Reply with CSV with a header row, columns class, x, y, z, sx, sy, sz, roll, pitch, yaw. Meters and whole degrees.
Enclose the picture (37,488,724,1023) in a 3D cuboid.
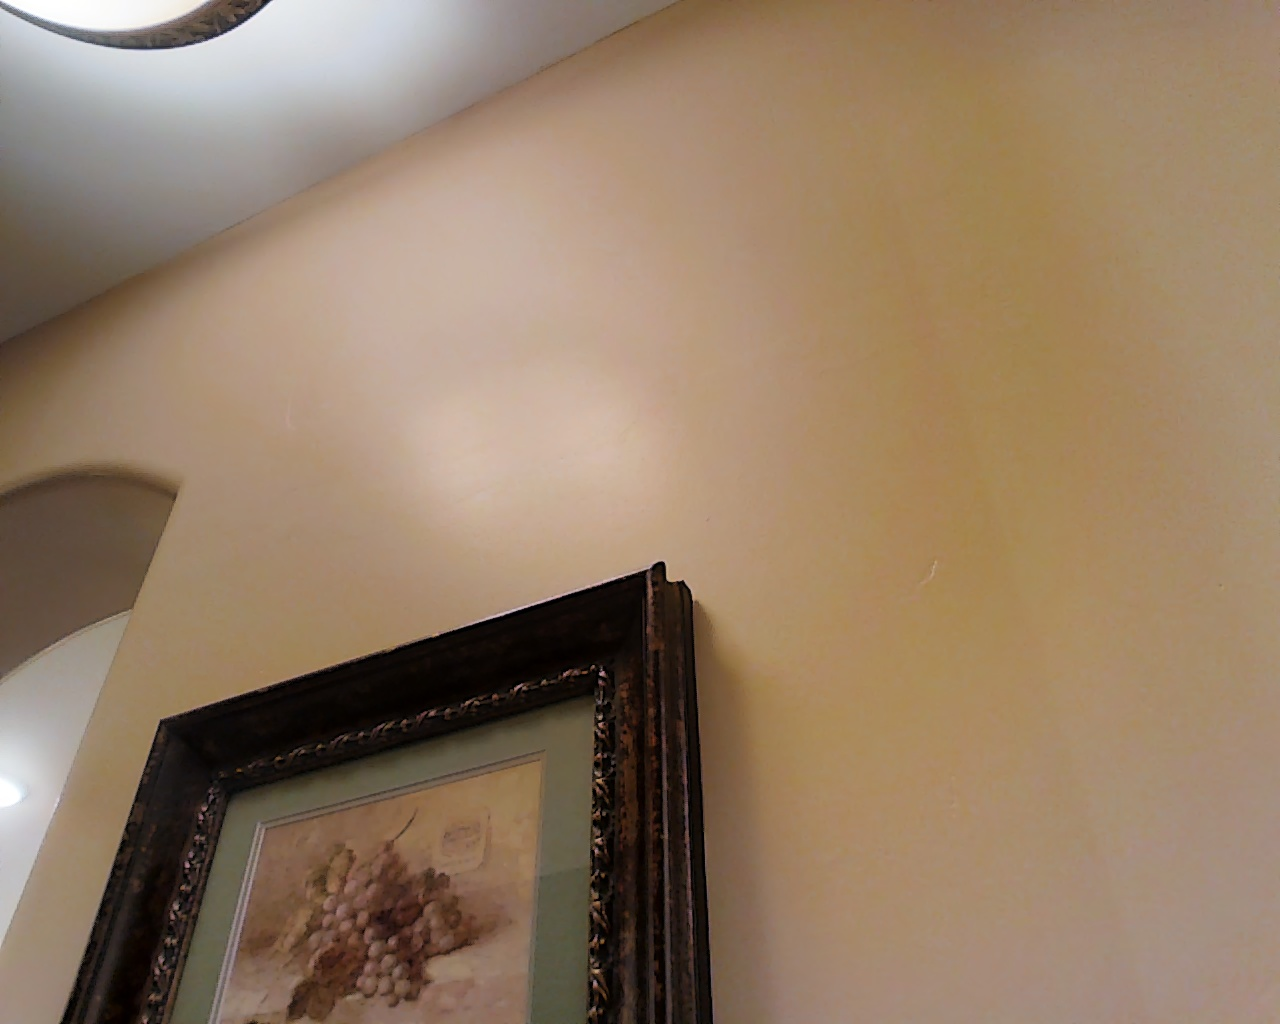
class,x,y,z,sx,sy,sz,roll,pitch,yaw
picture,-0.190,0.250,0.740,0.500,0.470,0.060,-19,-46,19
